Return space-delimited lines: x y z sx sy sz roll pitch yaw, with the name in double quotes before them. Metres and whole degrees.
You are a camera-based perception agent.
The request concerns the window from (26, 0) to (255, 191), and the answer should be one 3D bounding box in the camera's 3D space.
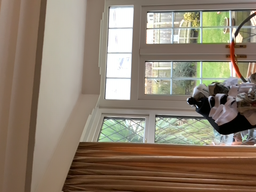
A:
"window" 0.550 -0.650 1.790 1.190 2.110 2.580 27 -116 -82
